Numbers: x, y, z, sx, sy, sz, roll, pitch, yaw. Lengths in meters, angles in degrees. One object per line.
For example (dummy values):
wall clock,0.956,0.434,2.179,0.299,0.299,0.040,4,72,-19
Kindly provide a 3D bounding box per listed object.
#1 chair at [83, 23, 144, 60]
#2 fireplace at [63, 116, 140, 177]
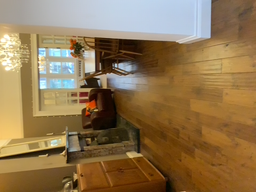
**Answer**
chair,-0.250,-0.830,3.370,0.560,0.860,0.460,-161,71,-72
fireplace,-0.630,0.850,4.140,1.630,1.210,0.610,-167,77,-72
